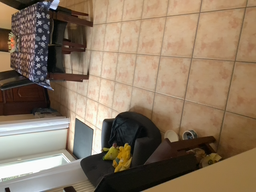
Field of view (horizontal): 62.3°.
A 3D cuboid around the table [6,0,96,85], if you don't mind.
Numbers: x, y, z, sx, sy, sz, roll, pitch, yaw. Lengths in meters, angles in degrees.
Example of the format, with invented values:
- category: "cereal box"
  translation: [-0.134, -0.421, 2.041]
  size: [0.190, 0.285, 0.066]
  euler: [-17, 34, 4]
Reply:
- category: "table"
  translation: [-1.300, -0.800, 3.300]
  size: [1.650, 0.780, 0.950]
  euler: [19, 106, 49]
